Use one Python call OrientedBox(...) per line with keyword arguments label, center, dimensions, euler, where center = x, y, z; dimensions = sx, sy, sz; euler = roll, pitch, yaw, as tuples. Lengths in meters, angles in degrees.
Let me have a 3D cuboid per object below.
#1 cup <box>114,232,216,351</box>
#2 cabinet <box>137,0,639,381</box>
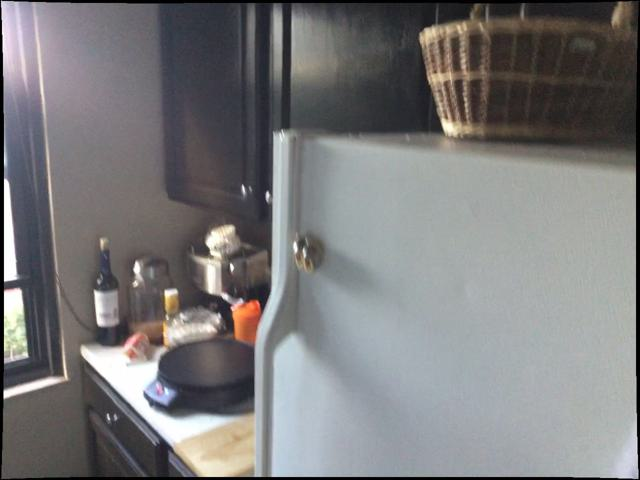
OrientedBox(label="cup", center=(-0.509, 0.160, 1.910), dimensions=(0.260, 0.301, 0.180), euler=(-13, 22, -39))
OrientedBox(label="cabinet", center=(0.209, -0.371, 1.300), dimensions=(0.429, 0.792, 1.888), euler=(-13, 22, -39))
